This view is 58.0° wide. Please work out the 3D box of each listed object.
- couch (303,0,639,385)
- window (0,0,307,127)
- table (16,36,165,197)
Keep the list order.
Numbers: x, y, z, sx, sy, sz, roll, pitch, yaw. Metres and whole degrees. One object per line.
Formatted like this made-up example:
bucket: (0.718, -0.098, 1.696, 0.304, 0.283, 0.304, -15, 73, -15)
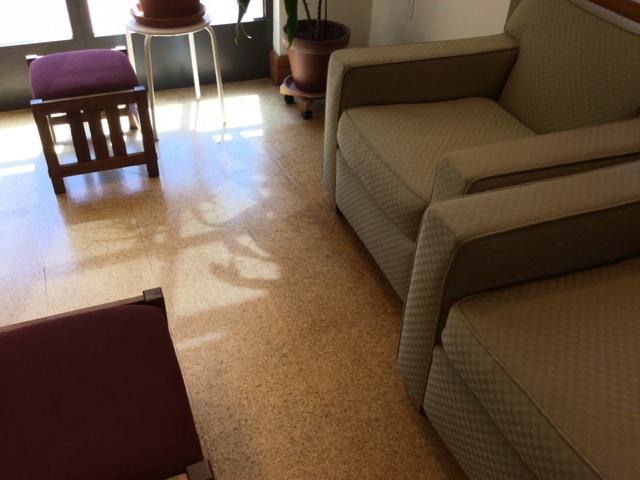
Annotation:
couch: (0.530, -0.280, 1.750, 0.860, 0.780, 0.910, -13, 39, -20)
window: (-1.000, -1.160, 2.420, 1.930, 1.210, 0.310, -13, 39, -20)
table: (-0.890, -0.500, 2.240, 0.420, 0.390, 0.510, -13, 39, -20)
